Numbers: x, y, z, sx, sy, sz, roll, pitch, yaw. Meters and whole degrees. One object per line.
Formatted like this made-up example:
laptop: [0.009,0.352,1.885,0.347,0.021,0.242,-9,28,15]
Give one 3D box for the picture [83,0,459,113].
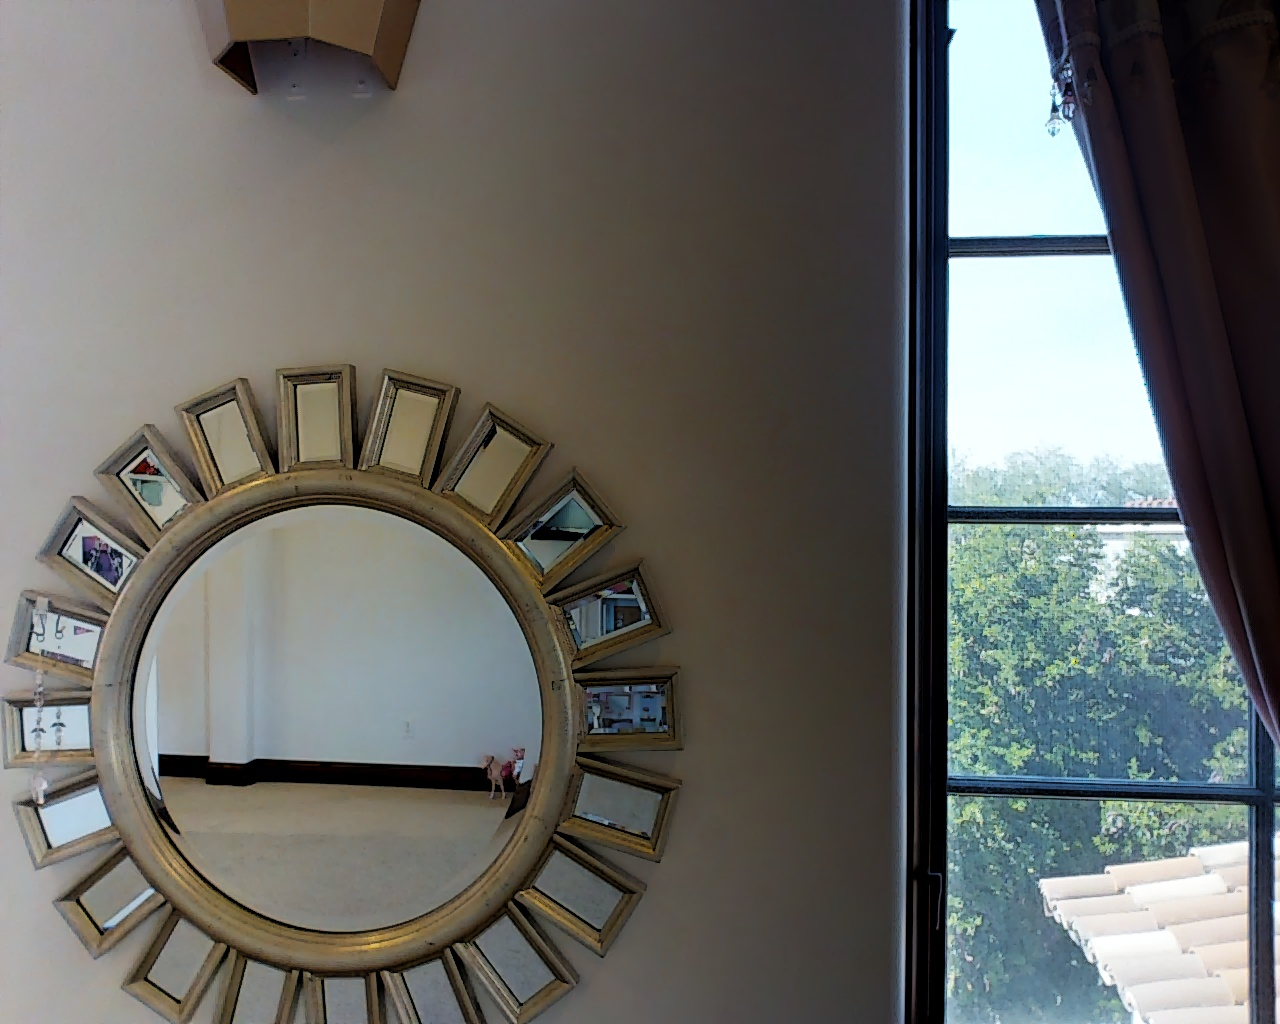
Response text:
picture: [-0.400,-0.670,1.220,0.330,0.330,0.240,1,-2,6]
